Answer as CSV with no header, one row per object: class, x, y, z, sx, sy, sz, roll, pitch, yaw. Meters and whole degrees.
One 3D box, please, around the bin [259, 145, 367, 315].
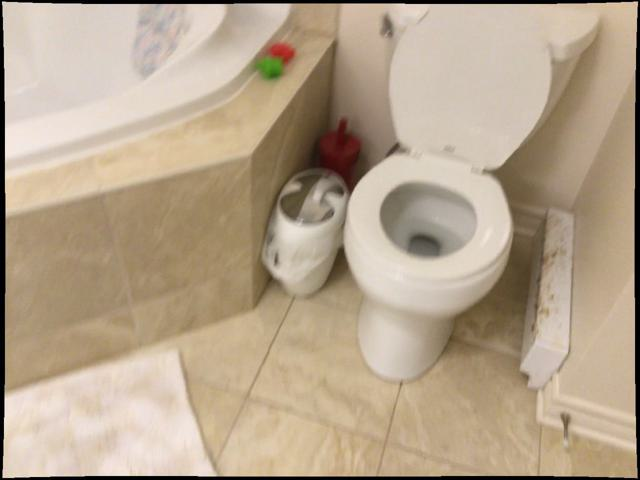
bin,-0.020,-0.030,1.550,0.180,0.290,0.310,16,45,10
